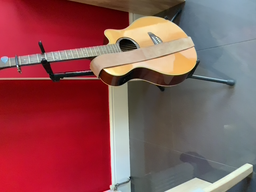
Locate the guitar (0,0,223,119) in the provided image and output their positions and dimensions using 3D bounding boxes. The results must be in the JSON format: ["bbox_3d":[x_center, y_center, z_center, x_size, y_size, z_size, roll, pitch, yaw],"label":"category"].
[{"bbox_3d":[-0.160,-0.180,0.930,0.200,1.020,0.470,110,150,-48],"label":"guitar"}]
